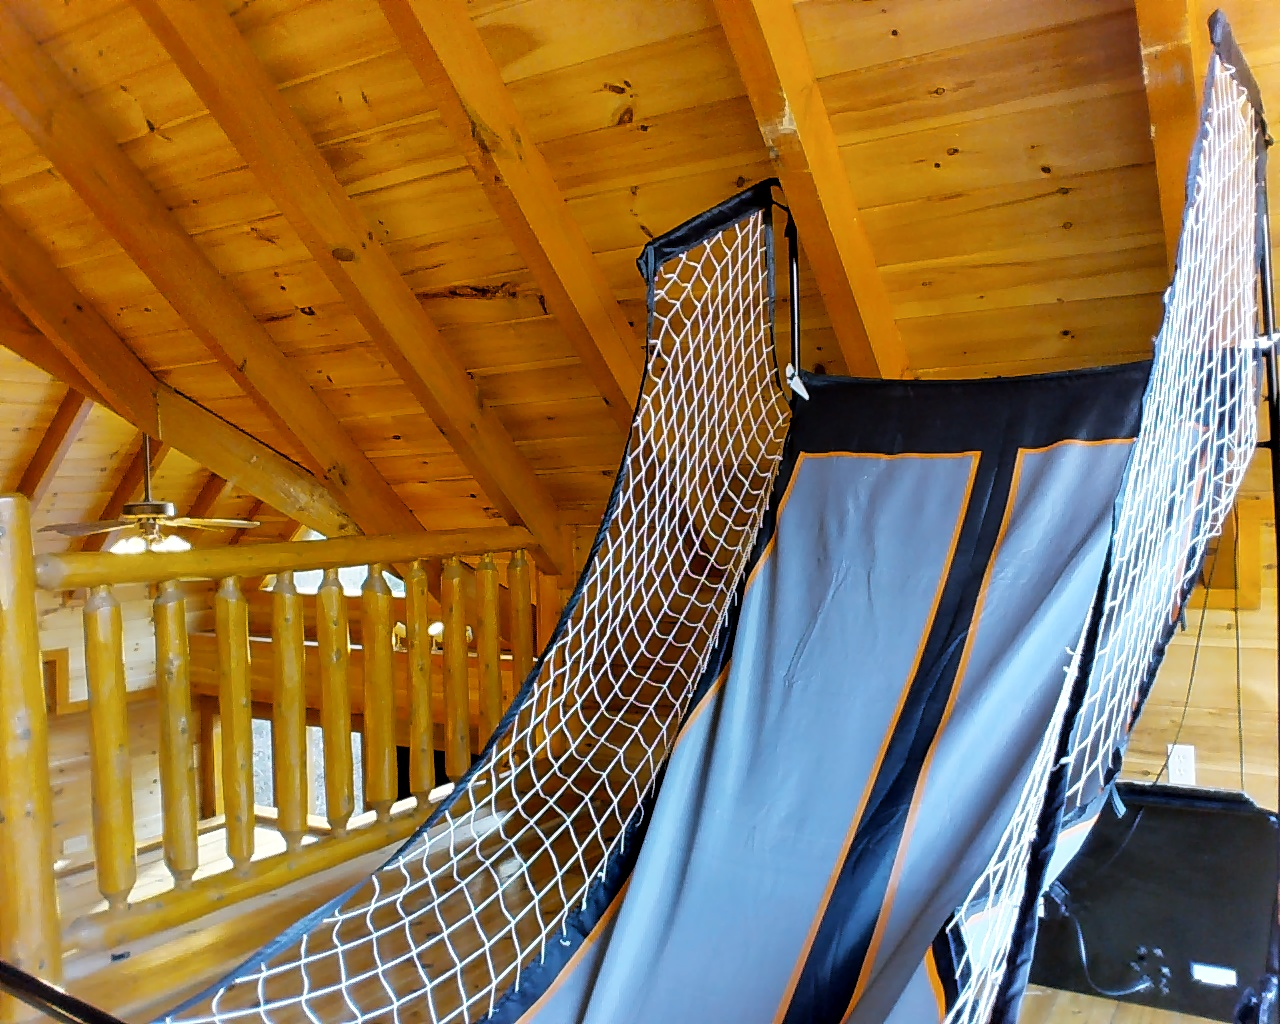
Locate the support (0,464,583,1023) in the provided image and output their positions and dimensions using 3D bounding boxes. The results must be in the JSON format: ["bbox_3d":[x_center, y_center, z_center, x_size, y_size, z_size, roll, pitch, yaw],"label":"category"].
[{"bbox_3d":[-0.900,0.500,3.330,0.160,1.270,2.200,-2,1,32],"label":"support"}]
